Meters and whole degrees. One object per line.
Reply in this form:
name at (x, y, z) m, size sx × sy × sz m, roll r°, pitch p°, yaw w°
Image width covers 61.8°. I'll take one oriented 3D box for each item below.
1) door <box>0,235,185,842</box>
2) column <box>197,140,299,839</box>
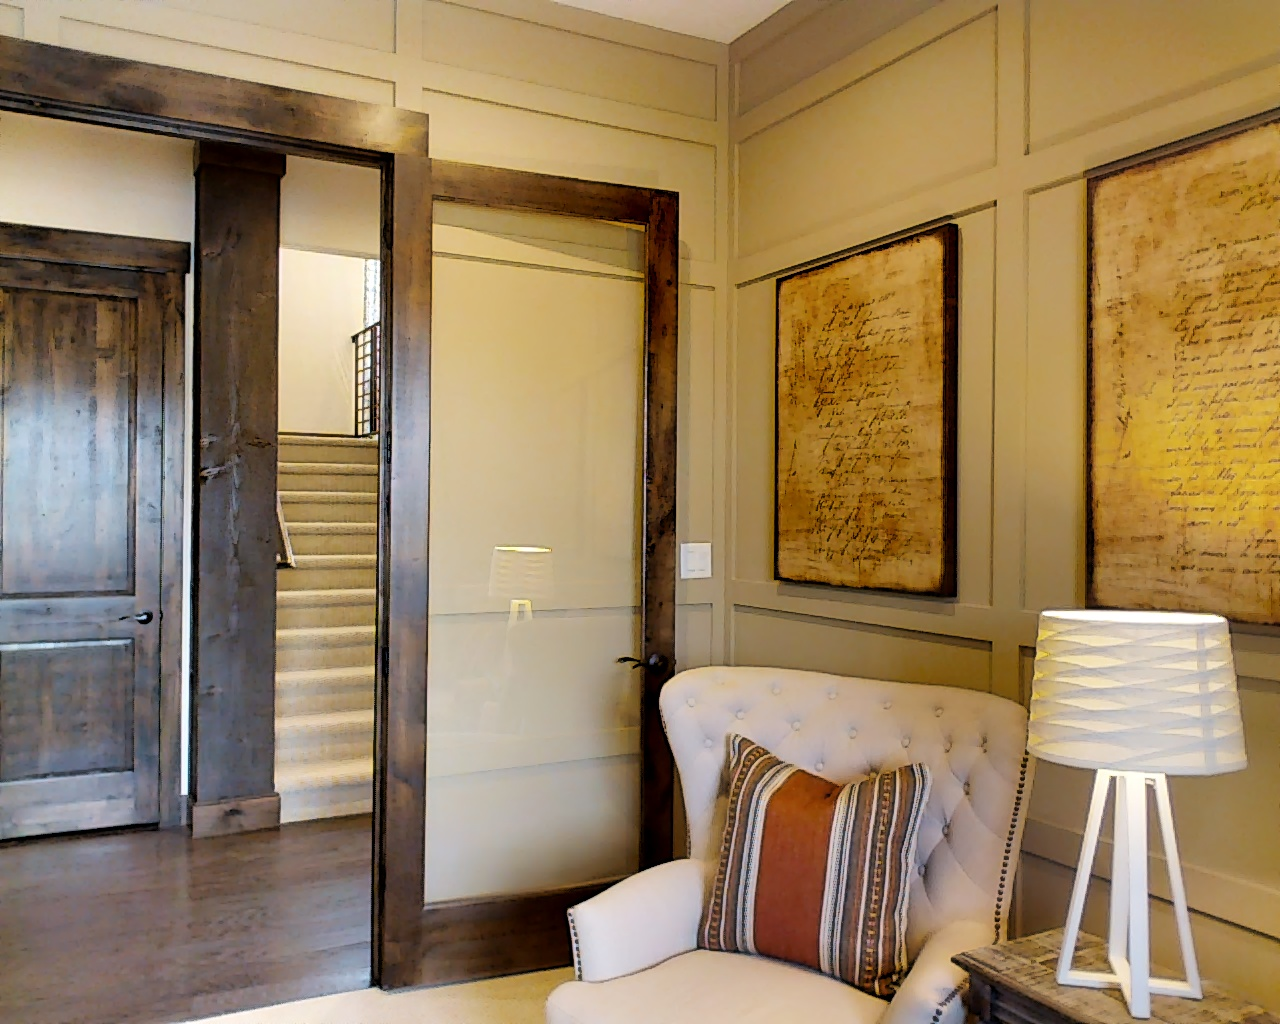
door at (-2.410, 0.110, 4.550) m, size 0.850 × 2.500 × 0.050 m, roll 1°, pitch -1°, yaw -28°
column at (-1.760, -0.100, 4.800) m, size 0.360 × 2.990 × 0.310 m, roll 1°, pitch -1°, yaw -29°
